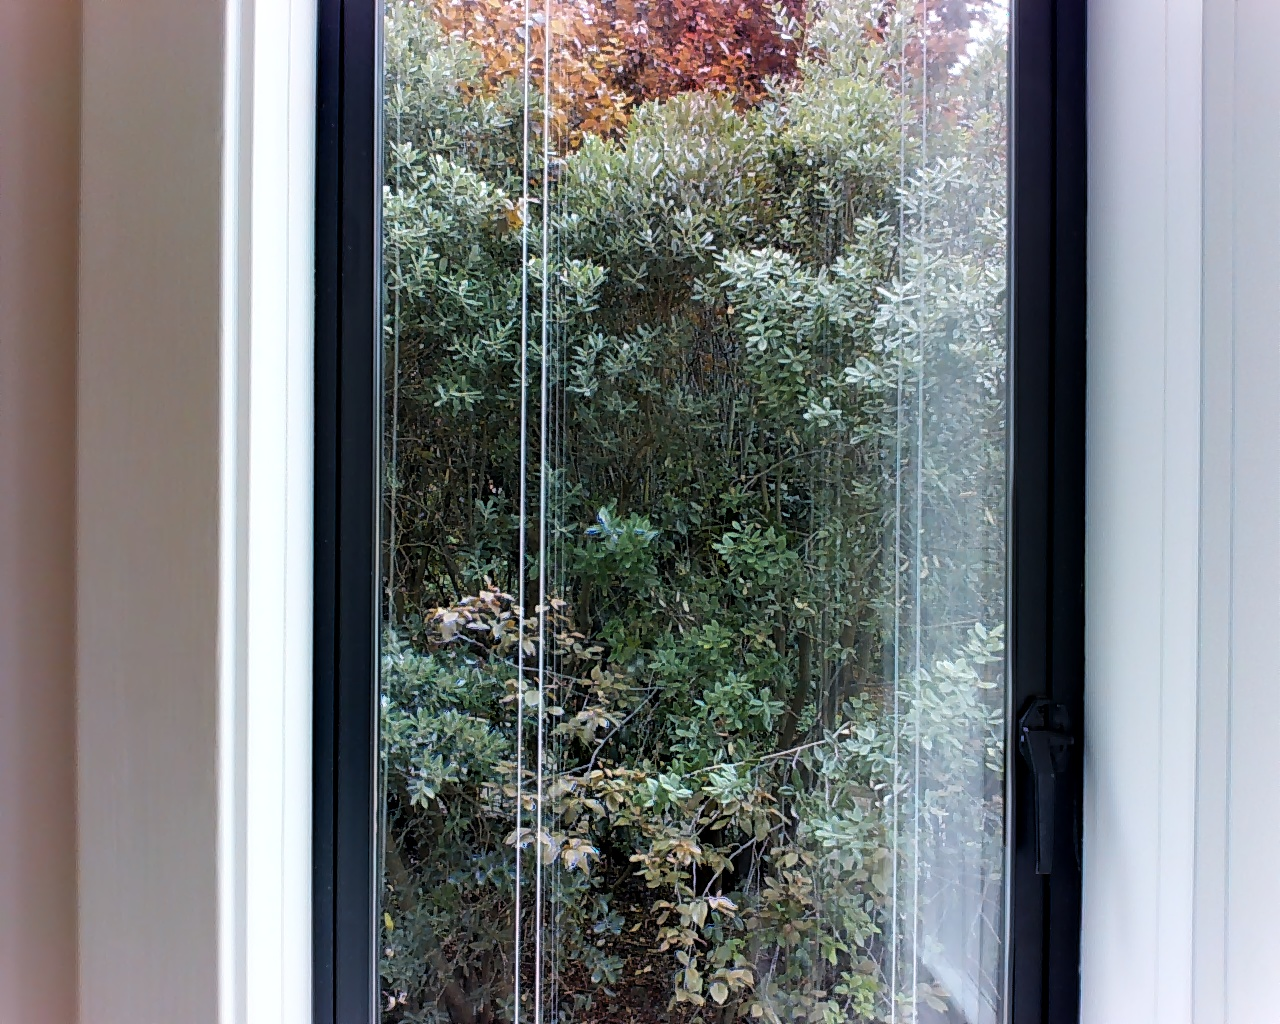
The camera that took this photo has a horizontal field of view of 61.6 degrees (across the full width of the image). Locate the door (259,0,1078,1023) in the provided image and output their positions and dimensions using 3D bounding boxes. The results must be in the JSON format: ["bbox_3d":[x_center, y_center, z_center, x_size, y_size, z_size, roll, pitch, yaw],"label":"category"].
[{"bbox_3d":[0.020,-0.110,0.750,0.520,1.420,0.140,0,0,-3],"label":"door"}]
